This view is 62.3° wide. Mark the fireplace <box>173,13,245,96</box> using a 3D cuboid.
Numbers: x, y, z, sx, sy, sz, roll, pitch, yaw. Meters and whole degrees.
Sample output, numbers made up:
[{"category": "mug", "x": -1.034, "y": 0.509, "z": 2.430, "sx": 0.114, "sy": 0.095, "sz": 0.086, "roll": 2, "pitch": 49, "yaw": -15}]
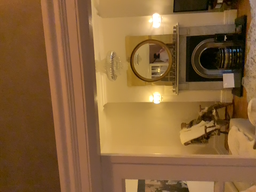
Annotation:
[{"category": "fireplace", "x": 1.590, "y": -0.830, "z": 4.430, "sx": 0.710, "sy": 1.200, "sz": 1.540, "roll": -68, "pitch": -24, "yaw": -77}]

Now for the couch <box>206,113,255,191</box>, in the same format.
[{"category": "couch", "x": 1.760, "y": 0.970, "z": 3.370, "sx": 1.110, "sy": 0.670, "sz": 1.150, "roll": -62, "pitch": -28, "yaw": -78}]
